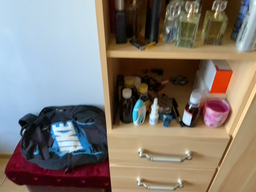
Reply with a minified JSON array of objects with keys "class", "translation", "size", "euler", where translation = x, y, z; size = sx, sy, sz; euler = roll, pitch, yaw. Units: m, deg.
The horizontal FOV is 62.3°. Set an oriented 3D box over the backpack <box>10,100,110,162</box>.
[{"class":"backpack","translation":[-0.310,0.170,1.070],"size":[0.400,0.160,0.250],"euler":[2,40,2]}]
